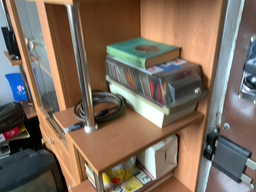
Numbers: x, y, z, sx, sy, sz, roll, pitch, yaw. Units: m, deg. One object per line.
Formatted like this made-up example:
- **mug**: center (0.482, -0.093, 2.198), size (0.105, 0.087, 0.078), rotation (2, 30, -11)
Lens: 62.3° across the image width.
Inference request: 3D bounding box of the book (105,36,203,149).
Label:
- **book**: center (0.070, -0.030, 0.710), size (0.190, 0.270, 0.240), rotation (-17, 32, -27)

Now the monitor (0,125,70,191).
- **monitor**: center (-0.610, 0.470, 1.250), size (0.380, 0.350, 0.360), rotation (-20, 33, -30)
